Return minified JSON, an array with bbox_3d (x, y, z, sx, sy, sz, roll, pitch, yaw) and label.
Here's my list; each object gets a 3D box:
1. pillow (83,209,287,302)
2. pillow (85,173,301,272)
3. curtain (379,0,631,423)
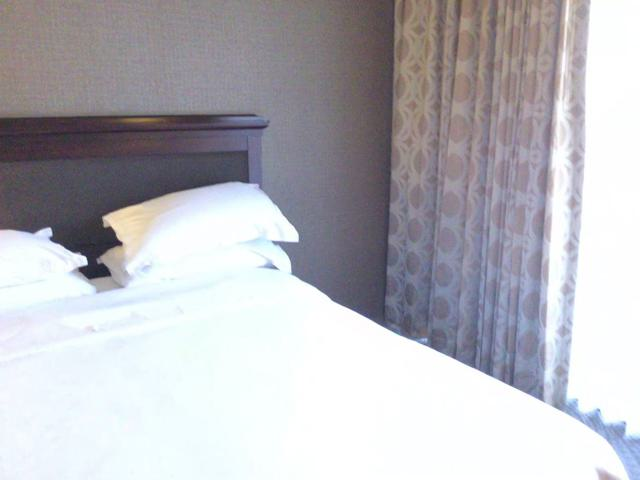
[{"bbox_3d":[-0.590,0.040,2.580,0.780,0.230,0.410,-9,14,-32],"label":"pillow"},{"bbox_3d":[-0.560,-0.110,2.570,0.790,0.280,0.510,-9,14,-32],"label":"pillow"},{"bbox_3d":[0.820,-0.350,2.920,0.360,2.130,1.190,-9,14,-32],"label":"curtain"}]
